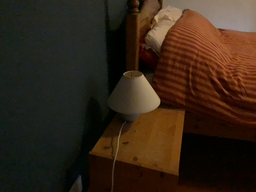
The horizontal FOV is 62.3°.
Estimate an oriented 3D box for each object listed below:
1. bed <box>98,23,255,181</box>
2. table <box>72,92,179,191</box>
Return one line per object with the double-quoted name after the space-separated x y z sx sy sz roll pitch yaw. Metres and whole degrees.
1.090 -0.140 1.870 2.180 0.680 1.700 6 27 12 "bed"
0.030 0.330 1.170 0.420 0.500 0.490 7 27 13 "table"
